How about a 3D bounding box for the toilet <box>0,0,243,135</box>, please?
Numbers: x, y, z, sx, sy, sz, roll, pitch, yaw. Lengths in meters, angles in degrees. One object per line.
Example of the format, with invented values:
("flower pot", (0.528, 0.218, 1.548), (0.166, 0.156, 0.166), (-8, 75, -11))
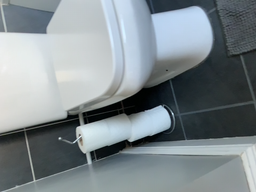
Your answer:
("toilet", (-0.190, -0.130, 0.780), (0.710, 0.810, 0.390), (-20, 82, 57))
